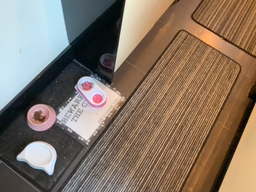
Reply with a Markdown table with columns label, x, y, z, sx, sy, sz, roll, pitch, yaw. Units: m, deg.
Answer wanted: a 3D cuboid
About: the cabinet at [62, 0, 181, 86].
| label | x | y | z | sx | sy | sz | roll | pitch | yaw |
| --- | --- | --- | --- | --- | --- | --- | --- | --- | --- |
| cabinet | 0.100 | -0.710 | 1.250 | 0.320 | 0.910 | 1.030 | 35 | 66 | 7 |
